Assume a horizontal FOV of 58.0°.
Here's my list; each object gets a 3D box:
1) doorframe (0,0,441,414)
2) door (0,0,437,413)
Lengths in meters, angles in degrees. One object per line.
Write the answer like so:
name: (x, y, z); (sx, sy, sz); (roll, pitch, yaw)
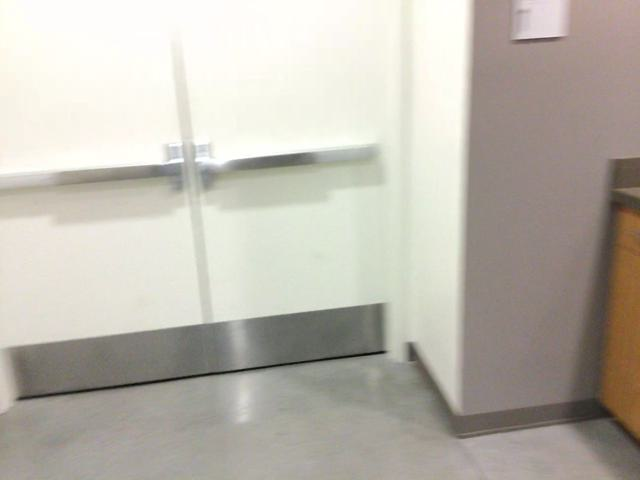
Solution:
doorframe: (-0.510, -0.200, 2.390); (1.910, 1.760, 0.330); (-3, 18, -4)
door: (-0.480, -0.210, 2.450); (1.830, 1.780, 0.380); (-3, 18, -4)
